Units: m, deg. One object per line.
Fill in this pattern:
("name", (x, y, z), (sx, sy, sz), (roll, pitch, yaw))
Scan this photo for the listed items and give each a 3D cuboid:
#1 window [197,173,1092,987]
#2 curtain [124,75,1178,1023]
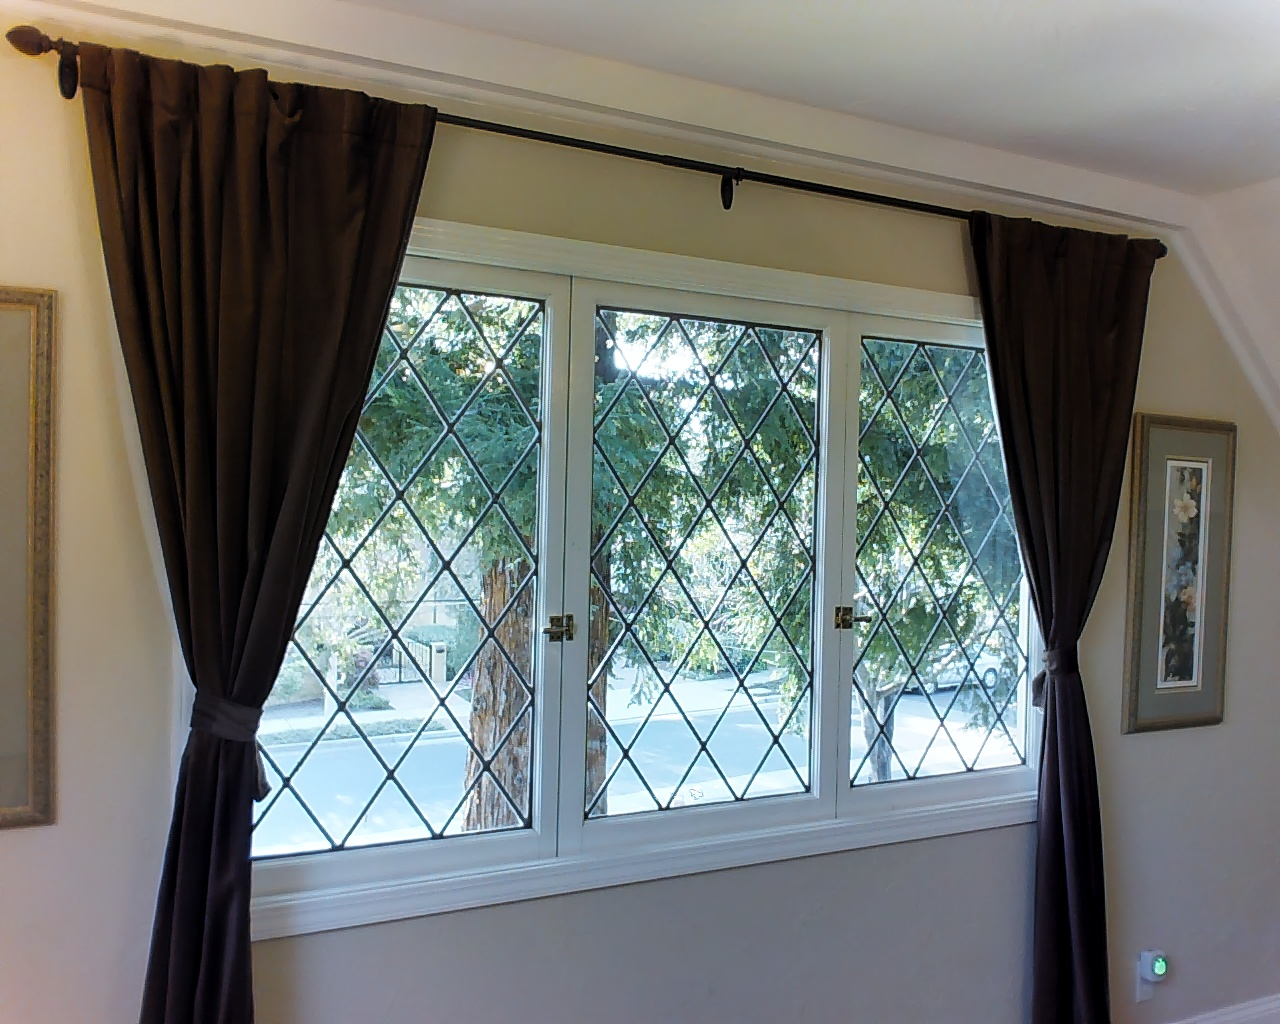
("window", (0.160, 0.130, 2.380), (2.080, 1.380, 0.210), (1, 1, -26))
("curtain", (0.210, 0.460, 2.240), (2.300, 2.200, 0.250), (1, 1, -26))
